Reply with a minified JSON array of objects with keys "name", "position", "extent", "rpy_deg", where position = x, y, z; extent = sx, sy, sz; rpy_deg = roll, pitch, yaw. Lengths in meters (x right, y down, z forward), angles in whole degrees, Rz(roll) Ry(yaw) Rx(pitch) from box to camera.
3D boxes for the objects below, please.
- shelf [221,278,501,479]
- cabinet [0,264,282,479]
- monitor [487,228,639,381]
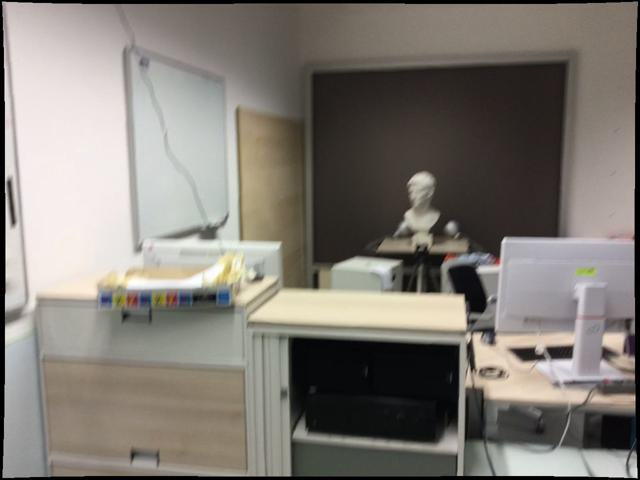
[{"name":"shelf","position":[0.180,0.751,2.080],"extent":[0.829,1.091,0.600],"rpy_deg":[0,10,13]},{"name":"cabinet","position":[-0.629,0.711,2.250],"extent":[0.809,1.131,0.550],"rpy_deg":[0,10,13]},{"name":"monitor","position":[1.019,0.240,2.230],"extent":[0.679,0.531,0.250],"rpy_deg":[-1,10,5]}]
